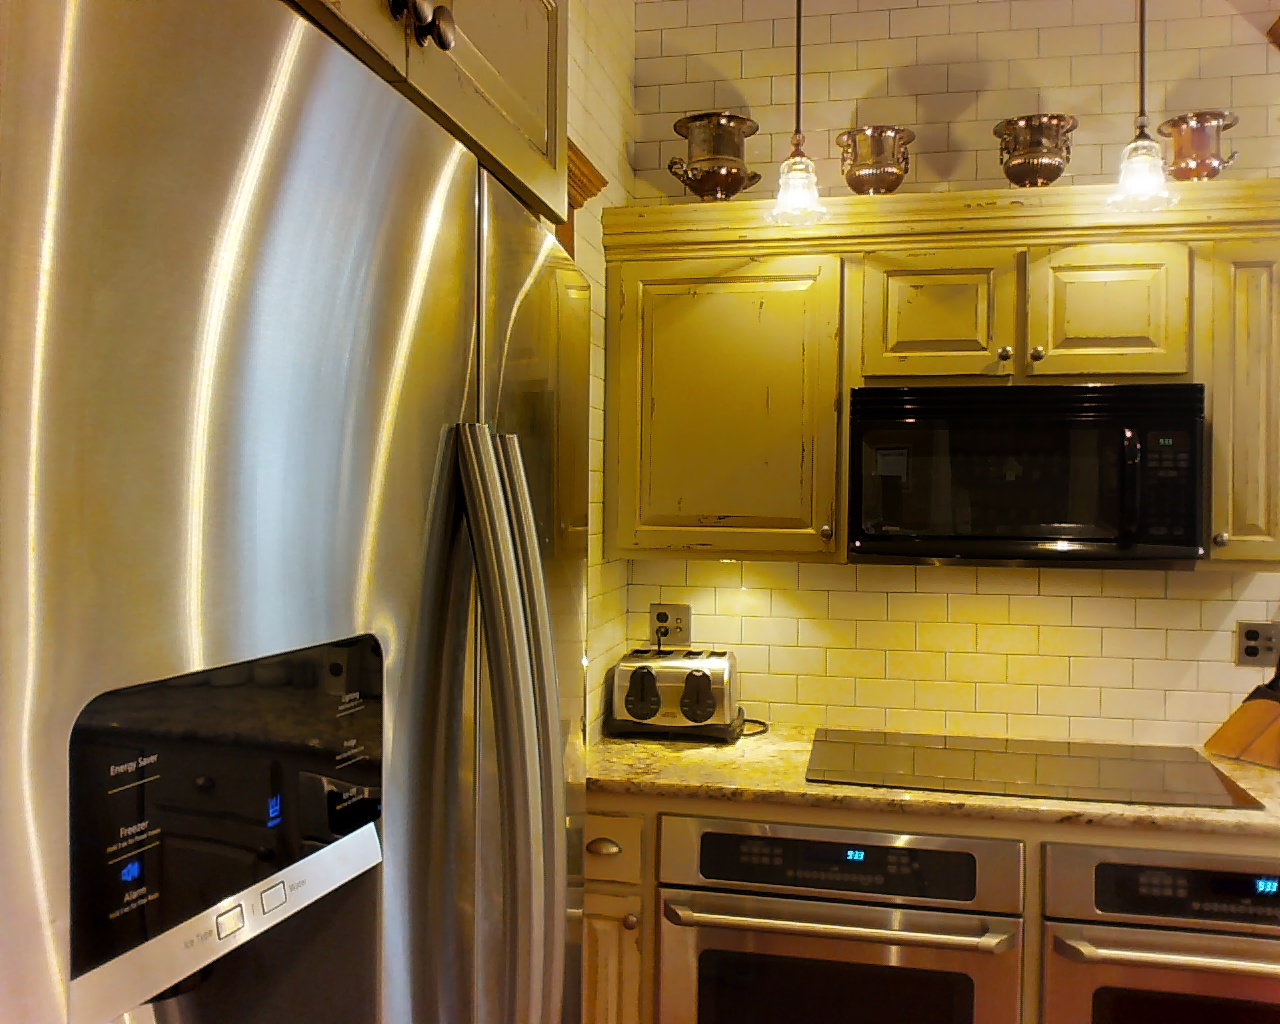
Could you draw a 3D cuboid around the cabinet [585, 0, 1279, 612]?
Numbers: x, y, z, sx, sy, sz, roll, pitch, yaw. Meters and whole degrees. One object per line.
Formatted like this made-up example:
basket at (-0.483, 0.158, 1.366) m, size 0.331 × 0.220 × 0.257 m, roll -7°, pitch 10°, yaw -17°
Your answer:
cabinet at (0.720, -0.500, 2.670) m, size 1.659 × 1.421 × 0.360 m, roll 1°, pitch 0°, yaw 11°
